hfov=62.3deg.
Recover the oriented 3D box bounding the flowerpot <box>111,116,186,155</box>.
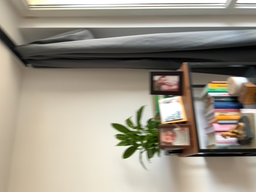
[{"bbox_3d":[0.110,0.240,1.270,0.160,0.410,0.200,94,175,-71],"label":"flowerpot"}]

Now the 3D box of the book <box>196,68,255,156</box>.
[{"bbox_3d":[0.670,0.120,1.370,0.370,0.280,0.480,94,175,-69],"label":"book"}]

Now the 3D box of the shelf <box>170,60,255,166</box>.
[{"bbox_3d":[1.070,0.130,1.380,0.440,1.460,0.580,94,175,-70],"label":"shelf"}]
